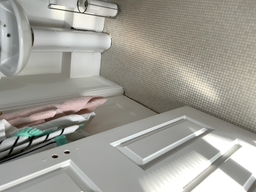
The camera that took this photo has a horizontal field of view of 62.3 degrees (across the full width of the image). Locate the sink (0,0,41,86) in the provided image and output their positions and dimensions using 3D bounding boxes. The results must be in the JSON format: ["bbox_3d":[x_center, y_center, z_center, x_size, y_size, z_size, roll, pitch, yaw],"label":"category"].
[{"bbox_3d":[-0.790,-0.400,1.480,0.410,0.170,0.530,29,117,38],"label":"sink"}]
